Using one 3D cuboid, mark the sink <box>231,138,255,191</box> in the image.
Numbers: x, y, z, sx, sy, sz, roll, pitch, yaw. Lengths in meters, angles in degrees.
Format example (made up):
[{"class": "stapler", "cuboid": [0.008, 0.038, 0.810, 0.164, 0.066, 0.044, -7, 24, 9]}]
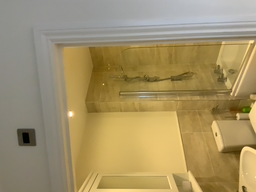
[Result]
[{"class": "sink", "cuboid": [1.040, 0.630, 1.700, 0.550, 0.180, 0.460, -36, -55, -87]}]
